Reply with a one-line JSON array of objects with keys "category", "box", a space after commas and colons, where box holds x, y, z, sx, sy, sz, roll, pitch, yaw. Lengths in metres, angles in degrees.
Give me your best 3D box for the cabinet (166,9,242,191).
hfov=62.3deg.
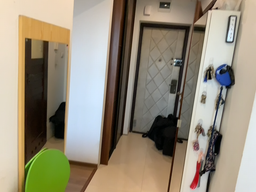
[{"category": "cabinet", "box": [0.570, 0.270, 1.920, 0.190, 1.780, 0.990, 8, 11, 8]}]
